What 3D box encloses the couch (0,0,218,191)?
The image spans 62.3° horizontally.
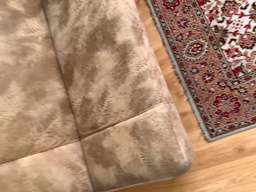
[{"bbox_3d":[-0.450,-0.430,1.200,0.950,0.870,1.960,-27,75,27],"label":"couch"}]
